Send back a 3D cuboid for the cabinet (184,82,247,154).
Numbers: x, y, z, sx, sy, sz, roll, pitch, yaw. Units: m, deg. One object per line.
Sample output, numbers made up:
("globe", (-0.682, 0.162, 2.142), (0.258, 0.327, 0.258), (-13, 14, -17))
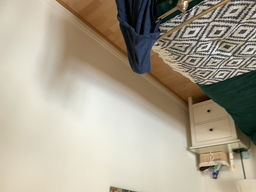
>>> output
("cabinet", (1.010, 0.280, 2.500), (0.490, 0.650, 0.400), (-20, 143, 35))
